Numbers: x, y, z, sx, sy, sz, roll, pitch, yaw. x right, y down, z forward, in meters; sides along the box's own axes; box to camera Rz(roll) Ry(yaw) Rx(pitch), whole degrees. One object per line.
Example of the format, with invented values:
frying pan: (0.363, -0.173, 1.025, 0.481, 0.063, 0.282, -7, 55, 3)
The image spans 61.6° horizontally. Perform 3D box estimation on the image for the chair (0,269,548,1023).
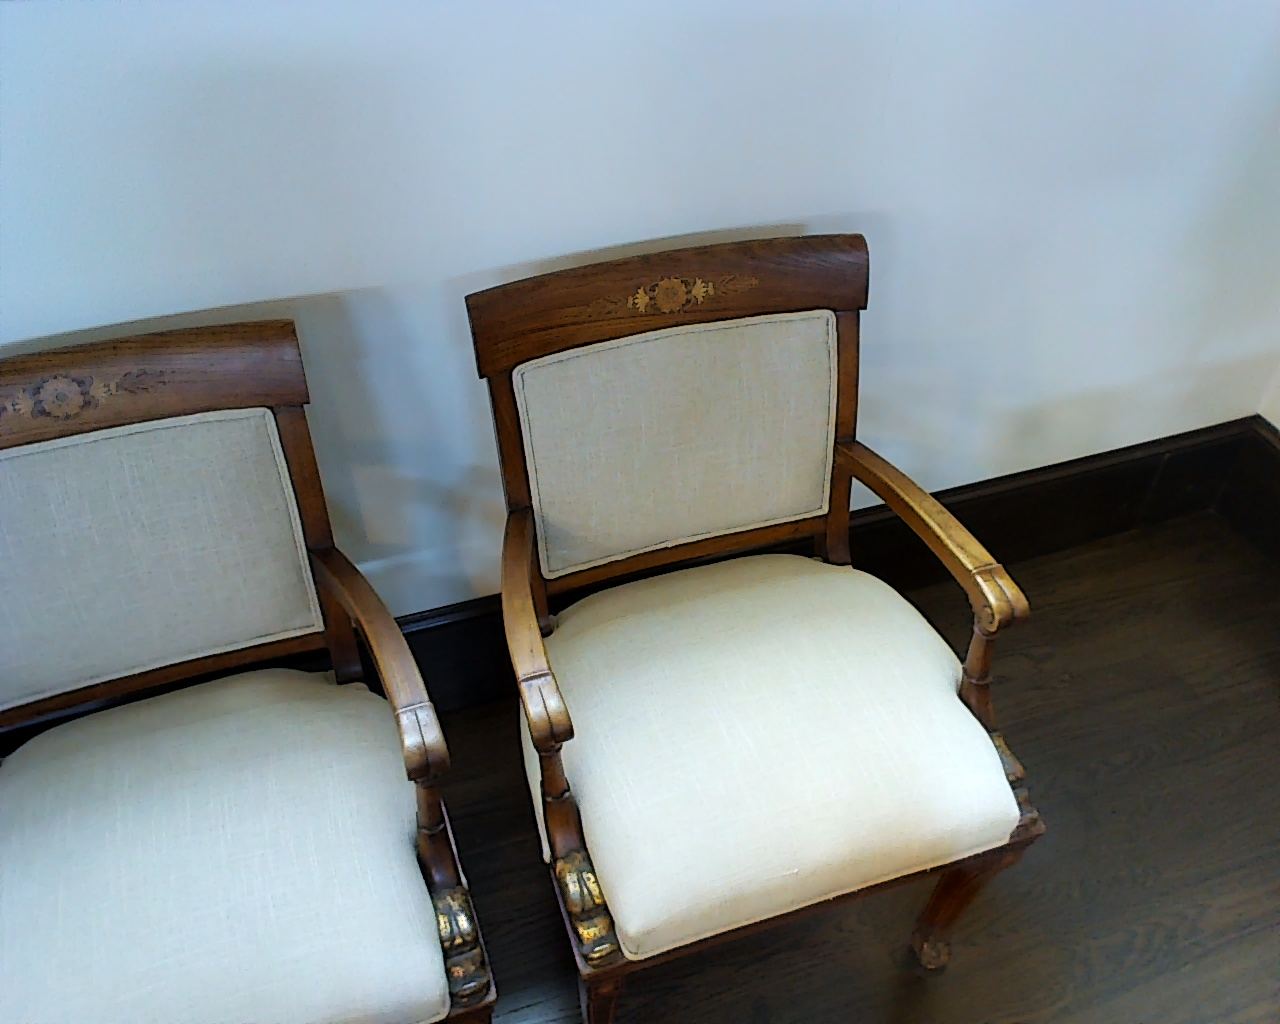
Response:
chair: (-0.490, 0.330, 1.210, 0.620, 0.890, 0.660, -12, 44, -14)

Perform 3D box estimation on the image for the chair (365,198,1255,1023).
chair: (0.100, 0.200, 1.380, 0.670, 0.870, 0.690, -12, 44, -13)
